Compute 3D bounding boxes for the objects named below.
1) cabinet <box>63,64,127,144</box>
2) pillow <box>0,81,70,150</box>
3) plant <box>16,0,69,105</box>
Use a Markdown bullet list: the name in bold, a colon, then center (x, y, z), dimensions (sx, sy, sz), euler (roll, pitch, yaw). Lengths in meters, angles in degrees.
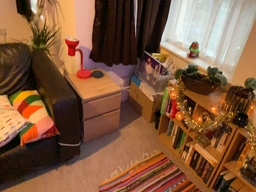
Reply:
- **cabinet**: center (-0.320, 0.050, 1.960), dimensions (0.380, 0.480, 0.500), euler (-14, 39, -27)
- **pillow**: center (-0.710, 0.100, 1.460), dimensions (0.470, 0.120, 0.380), euler (26, 39, 27)
- **plant**: center (-0.780, -0.580, 1.940), dimensions (0.300, 1.360, 0.300), euler (-16, 40, -29)
